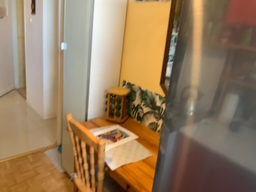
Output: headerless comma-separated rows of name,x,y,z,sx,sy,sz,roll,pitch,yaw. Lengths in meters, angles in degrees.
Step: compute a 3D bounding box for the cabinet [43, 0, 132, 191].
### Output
cabinet,-0.450,-0.210,1.950,0.330,2.030,0.860,-9,24,-40
